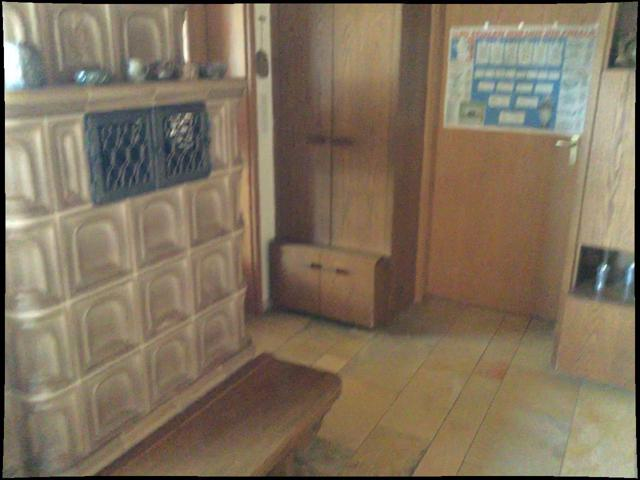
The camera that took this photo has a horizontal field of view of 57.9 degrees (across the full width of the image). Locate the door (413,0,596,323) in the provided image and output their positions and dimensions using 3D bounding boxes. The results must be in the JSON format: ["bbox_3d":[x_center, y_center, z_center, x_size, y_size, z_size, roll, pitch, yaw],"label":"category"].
[{"bbox_3d":[1.009,-0.541,3.330,0.819,2.002,0.100,11,21,27],"label":"door"}]
